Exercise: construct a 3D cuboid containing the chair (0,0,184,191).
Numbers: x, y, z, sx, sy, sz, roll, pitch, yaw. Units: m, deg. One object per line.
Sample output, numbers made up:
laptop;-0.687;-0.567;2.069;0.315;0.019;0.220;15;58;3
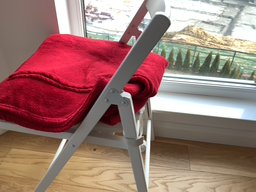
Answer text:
chair;-0.140;0.020;0.790;0.480;0.750;0.470;4;37;2
